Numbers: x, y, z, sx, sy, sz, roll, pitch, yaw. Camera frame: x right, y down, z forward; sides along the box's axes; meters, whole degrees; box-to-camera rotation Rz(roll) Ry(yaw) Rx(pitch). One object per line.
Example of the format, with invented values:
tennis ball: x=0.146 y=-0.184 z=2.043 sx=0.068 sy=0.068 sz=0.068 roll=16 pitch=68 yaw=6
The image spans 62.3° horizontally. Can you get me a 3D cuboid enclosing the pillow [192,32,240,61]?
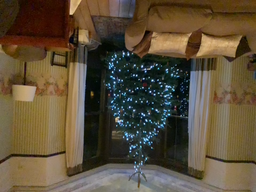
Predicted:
pillow: x=1.270 y=-0.710 z=3.080 sx=0.560 sy=0.310 sz=0.110 roll=13 pitch=-117 yaw=-6
